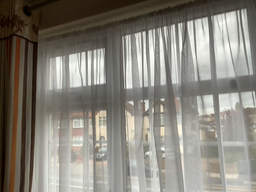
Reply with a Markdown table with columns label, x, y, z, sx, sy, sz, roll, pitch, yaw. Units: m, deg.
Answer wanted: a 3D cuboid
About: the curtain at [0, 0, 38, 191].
| label | x | y | z | sx | sy | sz | roll | pitch | yaw |
| --- | --- | --- | --- | --- | --- | --- | --- | --- | --- |
| curtain | -0.660 | 0.250 | 1.190 | 0.210 | 1.570 | 0.170 | -5 | -7 | 22 |
